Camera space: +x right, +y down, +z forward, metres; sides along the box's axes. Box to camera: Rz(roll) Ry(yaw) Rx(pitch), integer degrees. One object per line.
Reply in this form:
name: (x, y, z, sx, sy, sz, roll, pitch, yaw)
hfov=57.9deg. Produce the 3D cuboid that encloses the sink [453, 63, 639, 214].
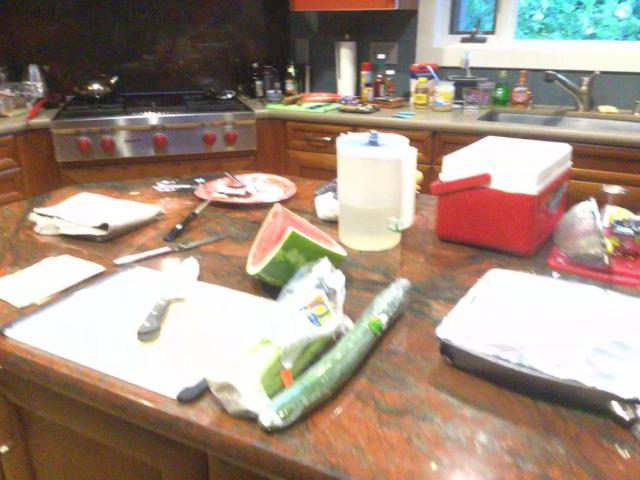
sink: (1.030, -0.460, 2.400, 0.750, 0.440, 0.630, 12, 25, 26)

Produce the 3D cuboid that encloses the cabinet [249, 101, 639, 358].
cabinet: (0.520, -0.100, 2.470, 1.860, 0.800, 0.140, 12, 25, 26)
